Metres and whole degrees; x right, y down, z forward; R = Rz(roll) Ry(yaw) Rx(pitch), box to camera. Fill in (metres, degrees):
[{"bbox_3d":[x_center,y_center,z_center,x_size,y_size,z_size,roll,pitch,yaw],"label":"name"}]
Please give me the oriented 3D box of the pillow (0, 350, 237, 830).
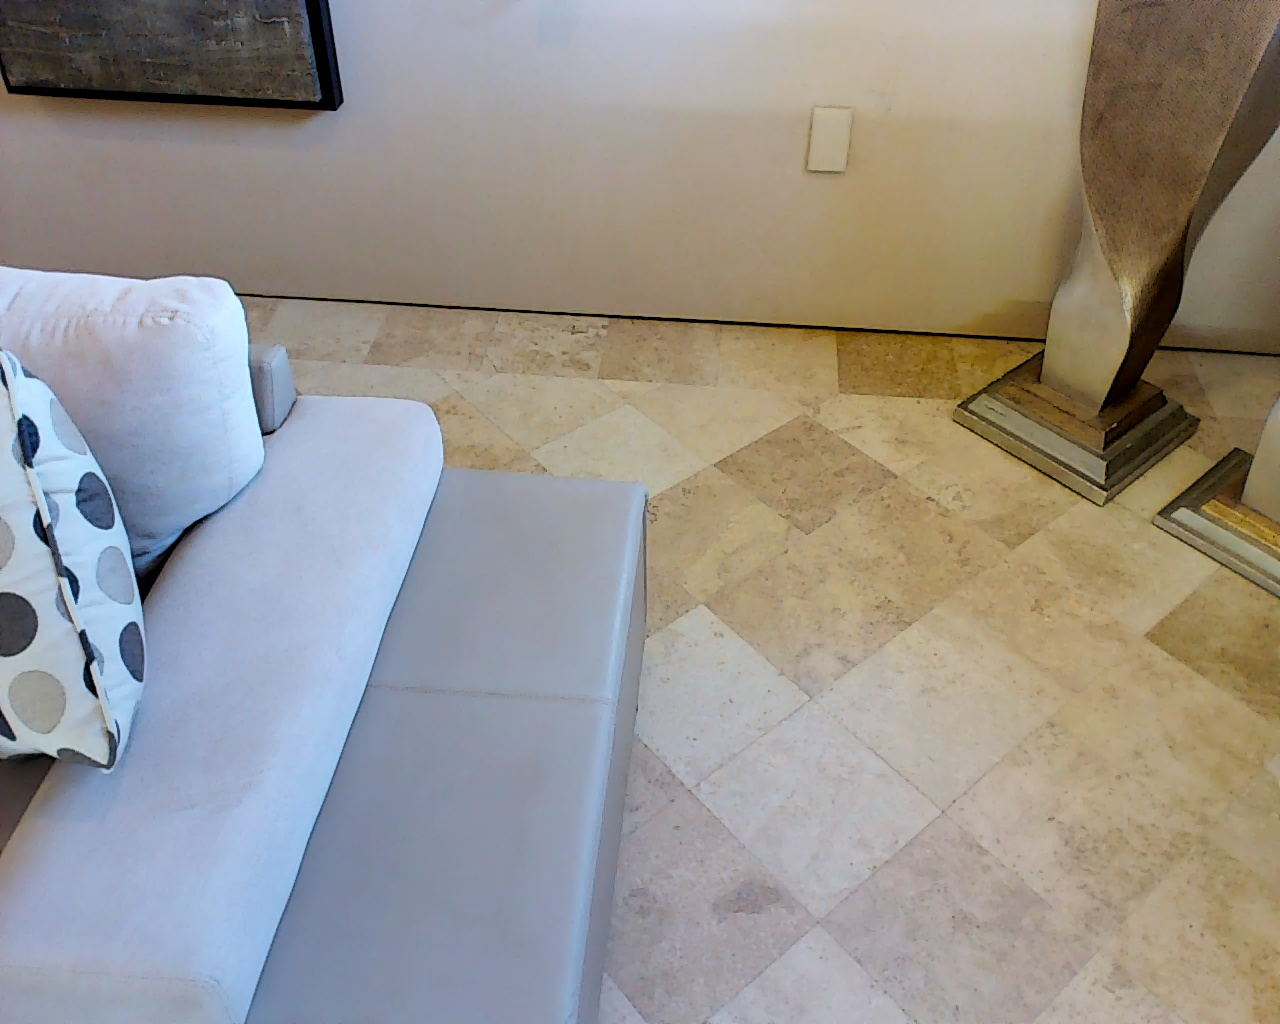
[{"bbox_3d":[-0.720,0.080,1.270,0.270,0.470,0.420,-9,4,-3],"label":"pillow"}]
